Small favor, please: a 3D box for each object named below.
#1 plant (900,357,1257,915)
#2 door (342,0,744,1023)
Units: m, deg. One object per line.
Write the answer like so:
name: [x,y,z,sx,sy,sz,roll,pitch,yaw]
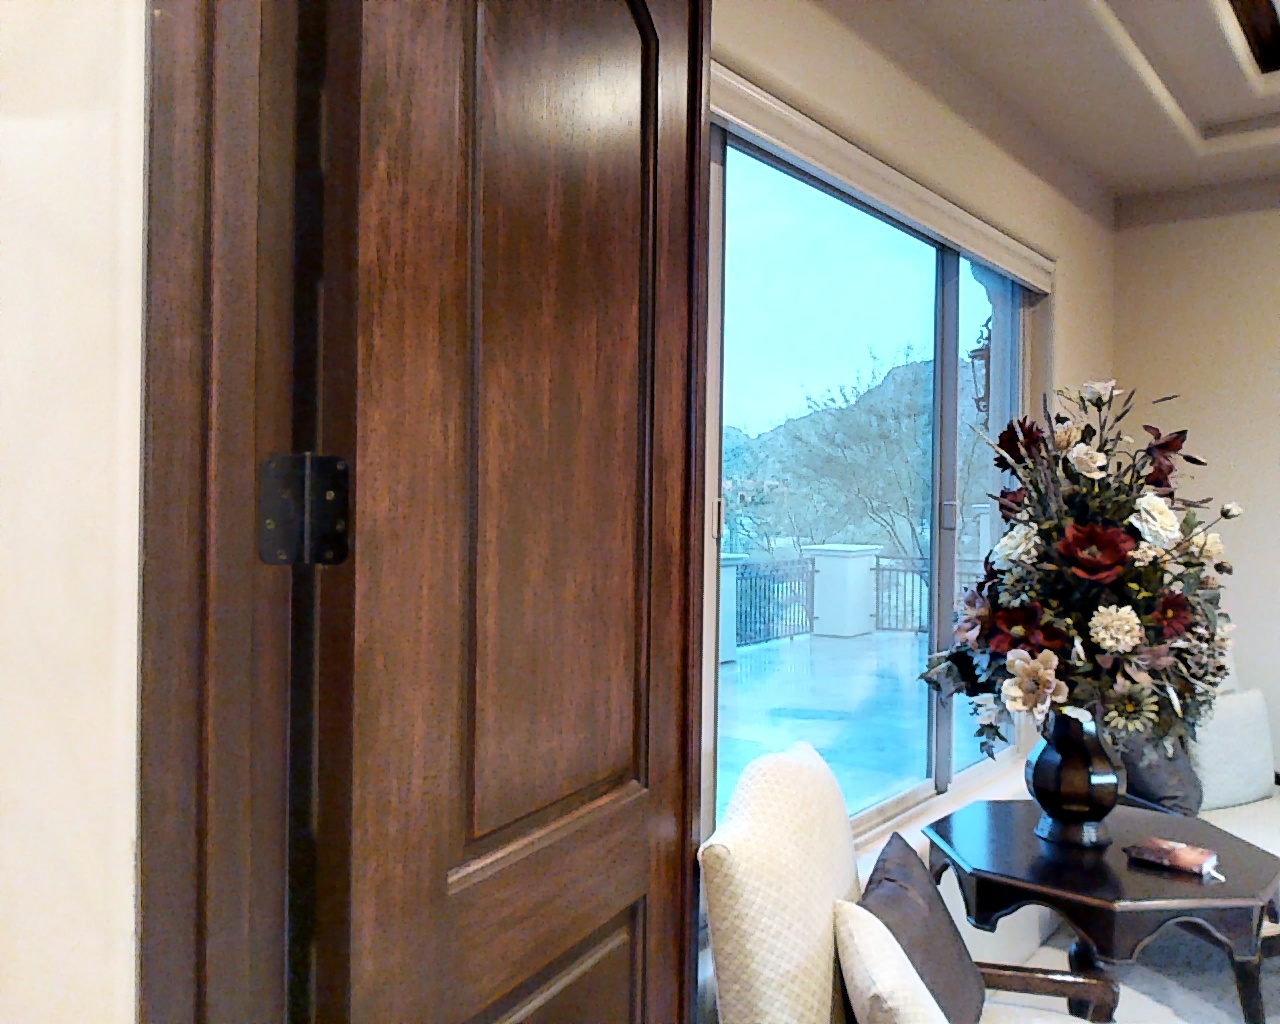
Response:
plant: [1.070,0.240,2.560,0.590,1.090,0.750,1,0,39]
door: [-0.060,0.260,1.350,0.070,2.470,0.830,1,0,26]
